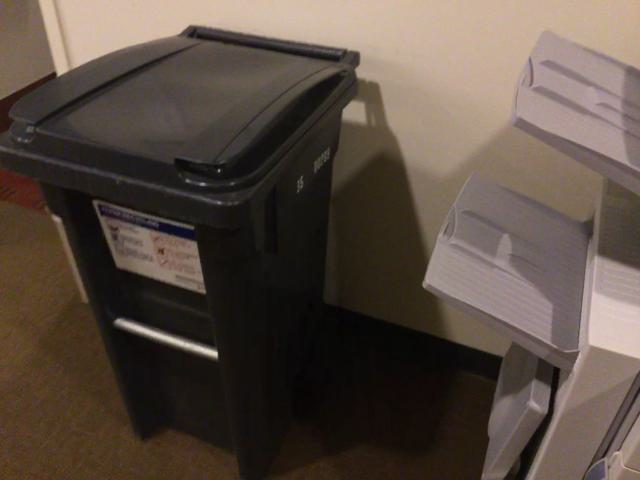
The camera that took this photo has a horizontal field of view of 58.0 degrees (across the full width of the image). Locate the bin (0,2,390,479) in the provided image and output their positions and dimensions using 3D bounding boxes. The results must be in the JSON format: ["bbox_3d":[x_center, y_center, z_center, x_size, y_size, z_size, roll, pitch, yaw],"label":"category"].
[{"bbox_3d":[-0.220,0.040,1.320,0.570,0.950,0.650,10,38,22],"label":"bin"}]
